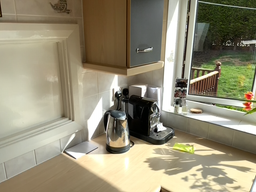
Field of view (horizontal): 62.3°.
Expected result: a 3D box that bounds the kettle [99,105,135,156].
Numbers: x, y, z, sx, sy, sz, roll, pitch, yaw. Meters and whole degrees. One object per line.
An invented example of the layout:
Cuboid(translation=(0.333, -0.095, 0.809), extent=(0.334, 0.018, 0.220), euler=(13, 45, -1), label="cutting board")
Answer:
Cuboid(translation=(-0.070, 0.200, 1.280), extent=(0.170, 0.230, 0.160), euler=(-7, 19, -22), label="kettle")
